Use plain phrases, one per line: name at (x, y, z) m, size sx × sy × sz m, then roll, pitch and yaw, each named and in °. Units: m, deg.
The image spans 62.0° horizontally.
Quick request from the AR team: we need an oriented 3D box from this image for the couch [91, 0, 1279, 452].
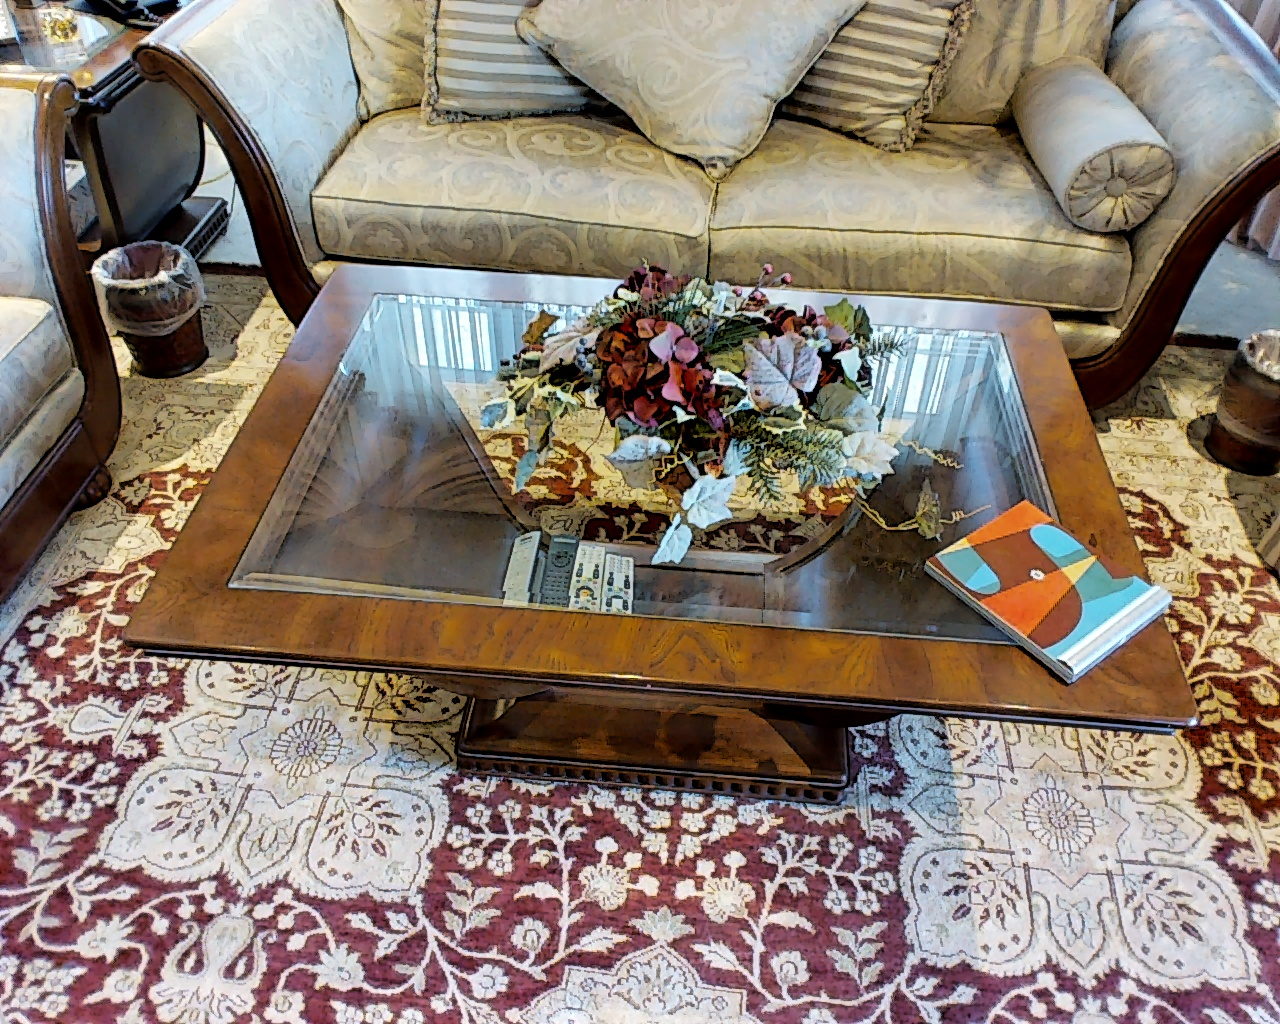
couch at (0.230, -0.930, 2.460) m, size 2.360 × 0.910 × 1.060 m, roll 5°, pitch 43°, yaw 5°
